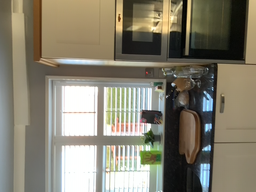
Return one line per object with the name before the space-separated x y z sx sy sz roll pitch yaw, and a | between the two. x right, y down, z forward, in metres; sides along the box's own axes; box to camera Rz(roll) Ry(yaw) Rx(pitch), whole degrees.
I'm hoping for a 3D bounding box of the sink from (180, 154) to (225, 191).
sink | 0.650 0.830 1.930 0.470 0.190 0.440 -144 55 -83
